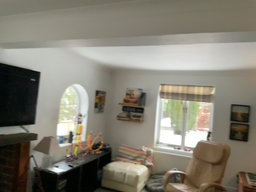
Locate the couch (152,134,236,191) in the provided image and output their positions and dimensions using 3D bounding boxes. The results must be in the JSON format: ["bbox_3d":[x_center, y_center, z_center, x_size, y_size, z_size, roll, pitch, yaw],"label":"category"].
[{"bbox_3d":[1.060,1.260,3.360,1.150,1.130,0.730,6,-2,-41],"label":"couch"}]

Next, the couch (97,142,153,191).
[{"bbox_3d":[-0.010,1.440,4.400,0.740,0.680,1.100,4,-1,22],"label":"couch"}]

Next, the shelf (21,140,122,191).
[{"bbox_3d":[-0.850,1.380,4.050,0.570,0.650,2.370,4,-1,20],"label":"shelf"}]
